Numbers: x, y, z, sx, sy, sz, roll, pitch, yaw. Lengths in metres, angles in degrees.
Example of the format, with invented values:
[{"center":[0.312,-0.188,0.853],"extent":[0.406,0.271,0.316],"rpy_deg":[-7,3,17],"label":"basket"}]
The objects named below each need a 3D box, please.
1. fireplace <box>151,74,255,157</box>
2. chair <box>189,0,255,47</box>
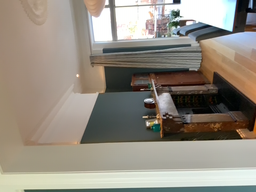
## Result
[{"center":[1.150,0.230,3.810],"extent":[1.710,1.310,0.750],"rpy_deg":[-87,-5,-68],"label":"fireplace"},{"center":[1.280,-0.920,2.610],"extent":[0.430,0.910,0.510],"rpy_deg":[-88,-4,-65],"label":"chair"}]
